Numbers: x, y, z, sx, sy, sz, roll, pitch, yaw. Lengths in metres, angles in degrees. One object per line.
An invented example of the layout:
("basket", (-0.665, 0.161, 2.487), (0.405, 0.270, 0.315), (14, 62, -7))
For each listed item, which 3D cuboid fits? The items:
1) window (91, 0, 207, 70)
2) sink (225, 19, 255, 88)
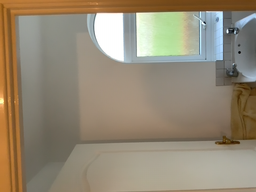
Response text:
("window", (0.190, -0.550, 1.930), (0.070, 1.020, 0.600), (-175, 84, -89))
("sink", (0.900, -0.290, 1.570), (0.300, 0.210, 0.450), (-132, 41, -88))
